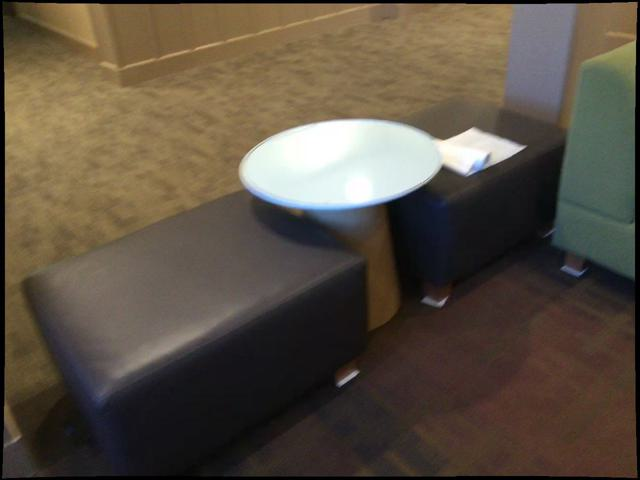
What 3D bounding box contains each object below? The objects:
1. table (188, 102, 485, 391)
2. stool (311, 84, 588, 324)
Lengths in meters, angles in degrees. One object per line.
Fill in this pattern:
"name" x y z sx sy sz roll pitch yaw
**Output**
"table" 0.060 -0.040 2.020 0.669 0.571 0.700 -27 39 -30
"stool" 0.499 -0.201 2.270 0.809 0.501 0.630 -27 39 -30
